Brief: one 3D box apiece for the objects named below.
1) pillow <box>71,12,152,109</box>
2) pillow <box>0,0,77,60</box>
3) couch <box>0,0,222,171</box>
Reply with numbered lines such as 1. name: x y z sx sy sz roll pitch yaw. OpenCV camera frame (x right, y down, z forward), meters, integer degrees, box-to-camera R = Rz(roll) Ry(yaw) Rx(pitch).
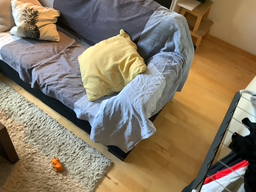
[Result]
1. pillow: -0.130 -0.230 1.390 0.420 0.200 0.450 -28 52 18
2. pillow: -0.800 -0.640 1.660 0.620 0.270 0.480 35 50 18
3. couch: -0.350 -0.420 1.640 1.590 0.850 0.930 31 49 15
